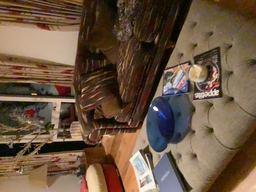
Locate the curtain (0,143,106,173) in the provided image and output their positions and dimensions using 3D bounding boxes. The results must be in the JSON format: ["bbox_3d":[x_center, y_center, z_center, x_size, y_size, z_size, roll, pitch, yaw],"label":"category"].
[{"bbox_3d":[-1.510,1.110,3.810,0.180,2.210,0.420,-117,37,-49],"label":"curtain"}]

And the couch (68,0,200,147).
[{"bbox_3d":[-0.050,-0.790,2.270,1.190,0.770,2.450,-119,39,-51],"label":"couch"}]

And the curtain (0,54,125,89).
[{"bbox_3d":[-1.060,-0.320,2.890,0.090,2.100,0.360,-119,39,-50],"label":"curtain"}]

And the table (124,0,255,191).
[{"bbox_3d":[0.450,0.200,1.550,0.800,0.340,1.570,-117,37,-49],"label":"table"}]
